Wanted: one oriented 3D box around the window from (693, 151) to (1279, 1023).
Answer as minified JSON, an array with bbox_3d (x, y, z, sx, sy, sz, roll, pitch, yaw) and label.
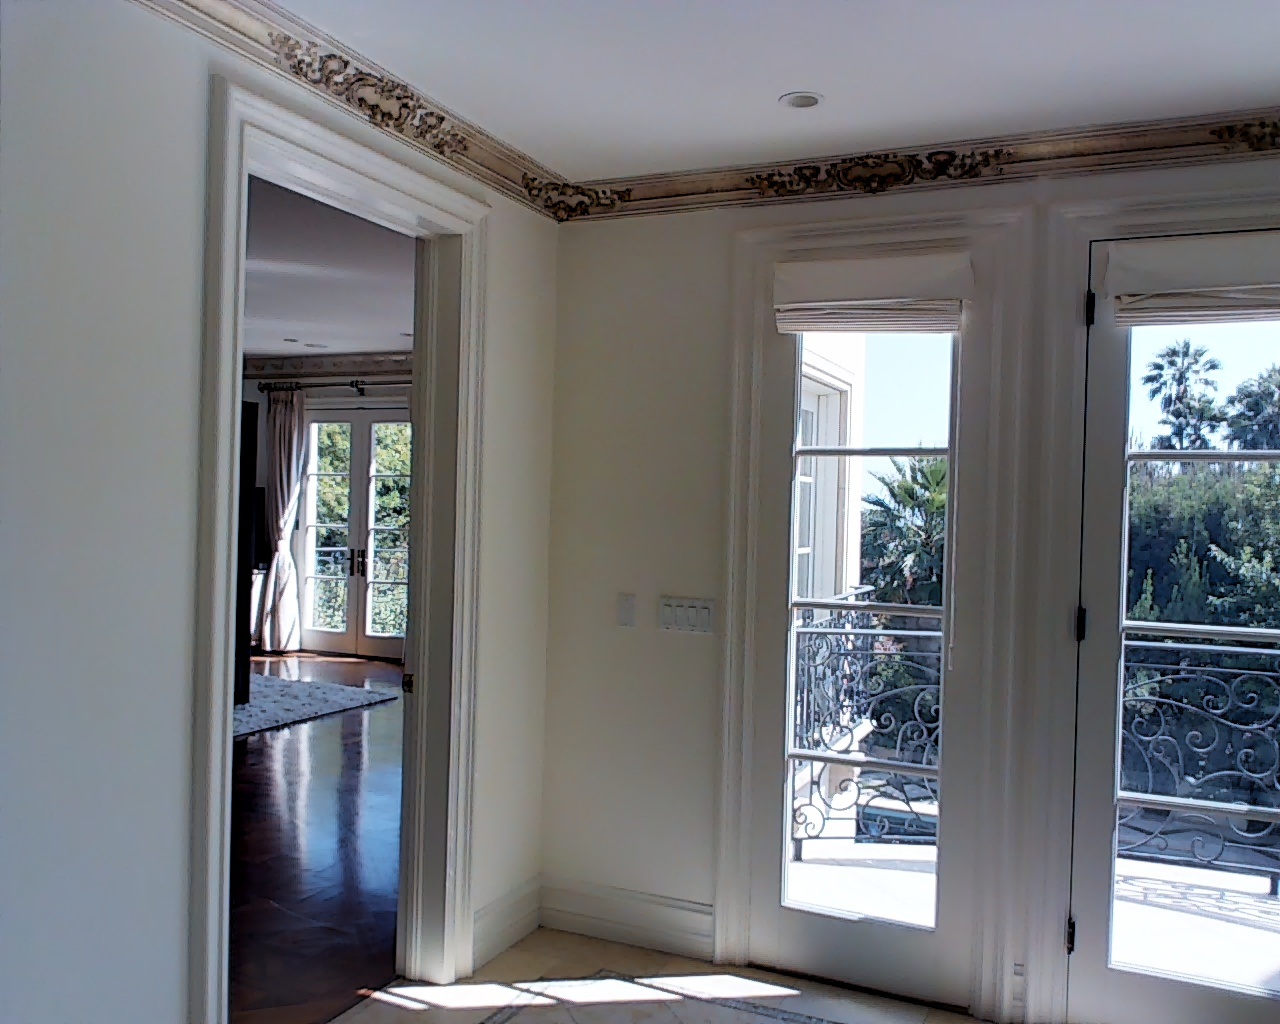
[{"bbox_3d":[2.019,0.310,2.900,3.859,2.571,0.200,2,0,24],"label":"window"}]
